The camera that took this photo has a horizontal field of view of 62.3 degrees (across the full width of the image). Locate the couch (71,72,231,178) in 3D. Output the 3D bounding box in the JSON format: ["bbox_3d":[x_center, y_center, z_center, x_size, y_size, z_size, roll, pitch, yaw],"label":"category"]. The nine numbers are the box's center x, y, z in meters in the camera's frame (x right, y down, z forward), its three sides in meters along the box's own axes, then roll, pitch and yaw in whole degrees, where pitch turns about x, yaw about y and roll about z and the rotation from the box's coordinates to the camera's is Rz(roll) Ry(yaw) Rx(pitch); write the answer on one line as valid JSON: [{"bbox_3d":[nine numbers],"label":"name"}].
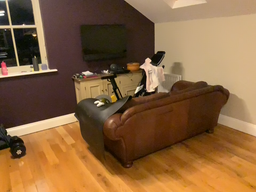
[{"bbox_3d":[0.390,0.230,3.270,2.130,0.800,1.130,-12,19,-30],"label":"couch"}]
